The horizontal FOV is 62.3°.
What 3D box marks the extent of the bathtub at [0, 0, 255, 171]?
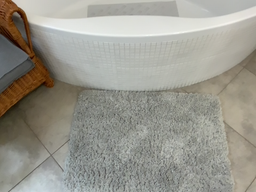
[{"bbox_3d":[0.070,-0.560,1.380,1.350,0.550,1.370,-41,70,-18],"label":"bathtub"}]
